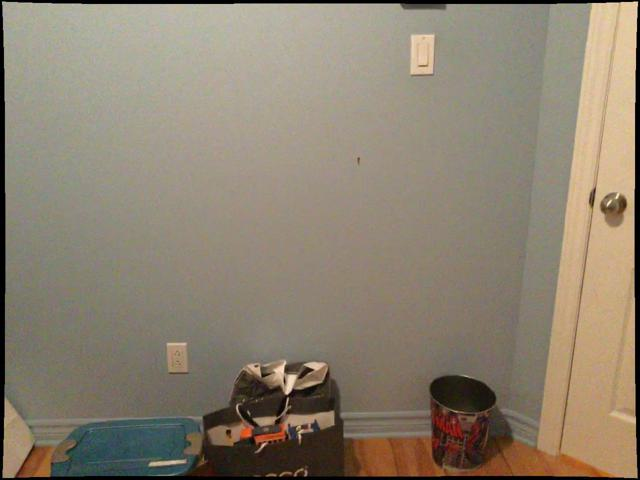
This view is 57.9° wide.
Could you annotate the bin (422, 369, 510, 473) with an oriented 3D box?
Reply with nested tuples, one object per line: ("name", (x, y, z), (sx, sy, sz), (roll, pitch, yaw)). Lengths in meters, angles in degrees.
("bin", (0.480, 0.601, 1.940), (0.220, 0.250, 0.210), (-1, 20, -3))
